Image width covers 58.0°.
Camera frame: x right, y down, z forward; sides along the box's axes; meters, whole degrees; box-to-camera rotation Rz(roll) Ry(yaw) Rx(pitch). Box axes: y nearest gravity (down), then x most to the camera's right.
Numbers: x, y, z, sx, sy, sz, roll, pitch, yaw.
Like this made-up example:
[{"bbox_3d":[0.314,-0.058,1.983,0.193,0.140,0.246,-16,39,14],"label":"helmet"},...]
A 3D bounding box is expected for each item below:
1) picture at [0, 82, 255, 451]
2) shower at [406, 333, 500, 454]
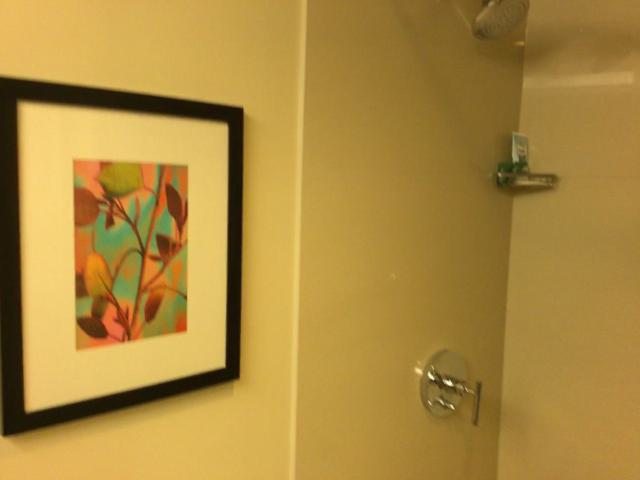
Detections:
[{"bbox_3d":[-0.300,0.030,0.950,0.430,0.510,0.050,-3,6,-41],"label":"picture"},{"bbox_3d":[0.370,0.410,1.590,0.290,0.250,0.090,-3,6,-41],"label":"shower"}]
